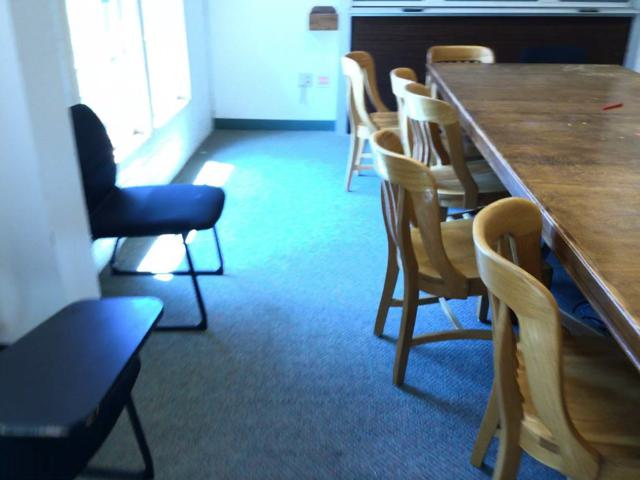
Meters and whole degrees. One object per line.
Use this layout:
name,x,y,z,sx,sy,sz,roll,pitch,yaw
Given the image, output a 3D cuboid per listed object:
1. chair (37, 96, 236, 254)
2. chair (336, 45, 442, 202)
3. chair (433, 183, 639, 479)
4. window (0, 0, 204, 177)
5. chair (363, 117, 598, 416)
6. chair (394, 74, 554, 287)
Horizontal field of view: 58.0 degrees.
chair,-0.670,-0.270,2.270,0.550,0.480,0.480,-1,24,3
chair,0.410,-0.740,3.620,0.580,0.840,0.580,-1,24,3
chair,0.540,0.340,1.370,0.440,0.810,0.520,-1,24,3
window,-1.050,-1.020,3.230,0.250,0.710,2.110,-1,24,3
chair,0.460,0.070,1.970,0.600,0.830,0.590,-1,24,3
chair,0.660,-0.290,2.700,0.570,0.840,0.560,-1,24,3
